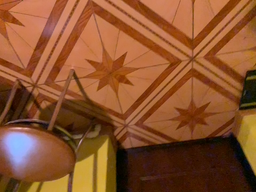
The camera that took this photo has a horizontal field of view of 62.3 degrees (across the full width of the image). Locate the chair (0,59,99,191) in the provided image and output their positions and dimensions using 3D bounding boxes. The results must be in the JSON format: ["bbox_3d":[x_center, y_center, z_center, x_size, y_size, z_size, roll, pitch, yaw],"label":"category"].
[{"bbox_3d":[-0.430,0.310,1.020,0.390,0.830,0.570,-8,130,5],"label":"chair"}]
